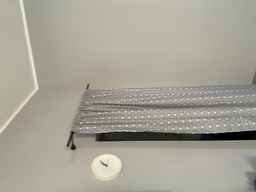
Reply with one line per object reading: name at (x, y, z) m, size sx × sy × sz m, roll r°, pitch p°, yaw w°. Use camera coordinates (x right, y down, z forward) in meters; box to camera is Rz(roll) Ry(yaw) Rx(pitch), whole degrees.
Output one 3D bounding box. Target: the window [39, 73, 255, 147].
window at (0.570, 0.070, 1.940) m, size 0.950 × 2.360 × 0.230 m, roll -96°, pitch 7°, yaw -65°
